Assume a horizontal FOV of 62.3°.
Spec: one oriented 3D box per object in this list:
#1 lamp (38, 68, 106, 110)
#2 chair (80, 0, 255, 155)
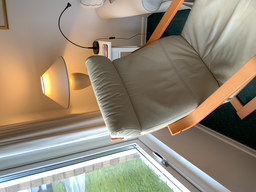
[{"bbox_3d":[-0.480,-0.080,1.850,0.270,0.510,0.270,25,119,58],"label":"lamp"},{"bbox_3d":[0.350,-0.260,1.210,0.690,0.970,0.800,65,148,29],"label":"chair"}]
